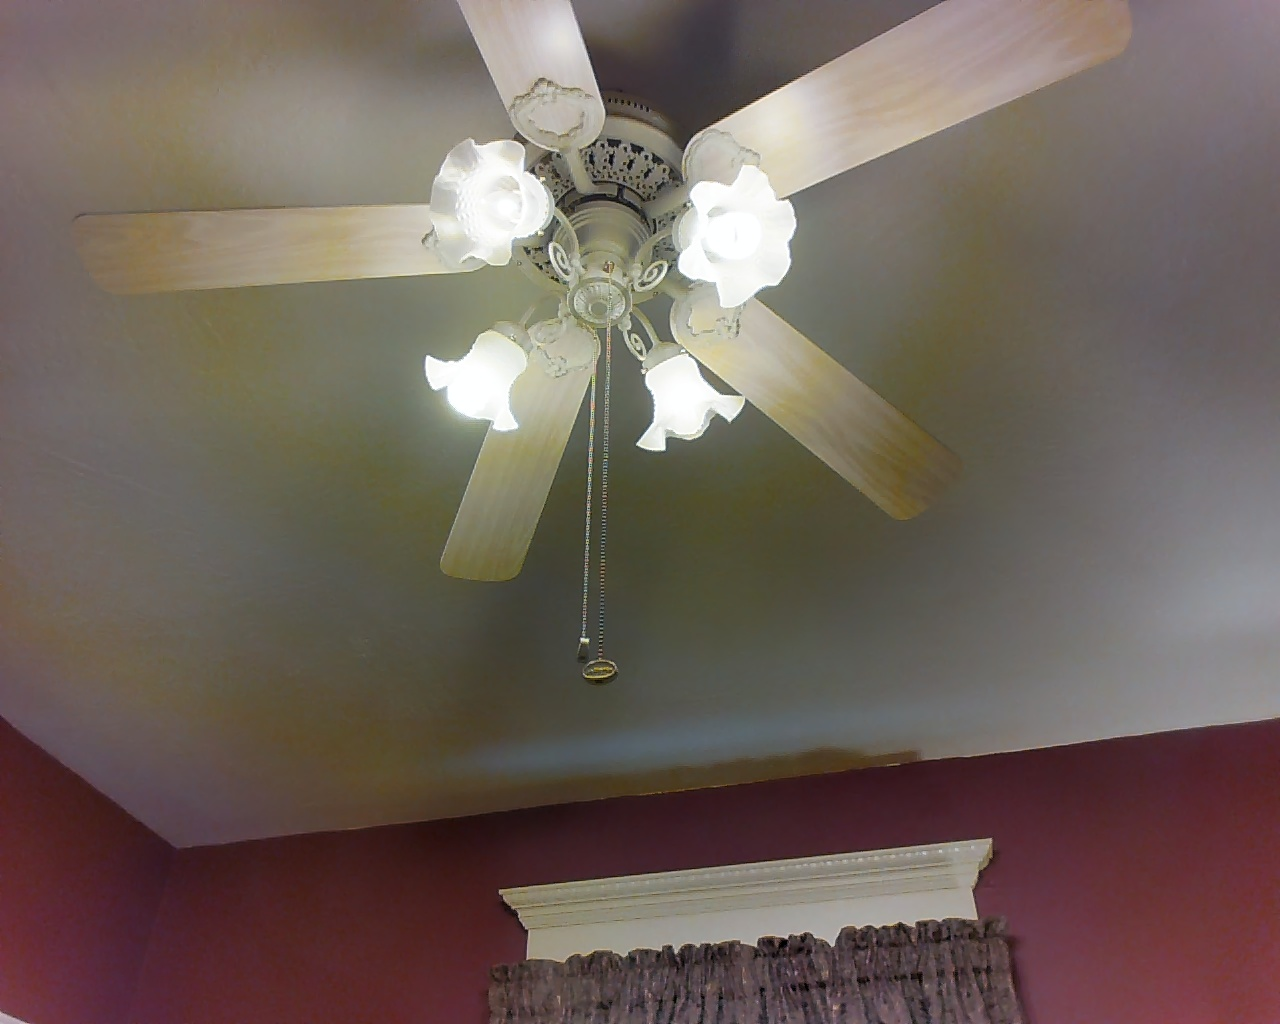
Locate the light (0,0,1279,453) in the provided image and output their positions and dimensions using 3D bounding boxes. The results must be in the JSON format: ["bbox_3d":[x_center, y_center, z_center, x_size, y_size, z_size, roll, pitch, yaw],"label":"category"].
[{"bbox_3d":[-0.020,-0.400,1.460,1.310,0.420,1.380,-9,1,11],"label":"light"}]
